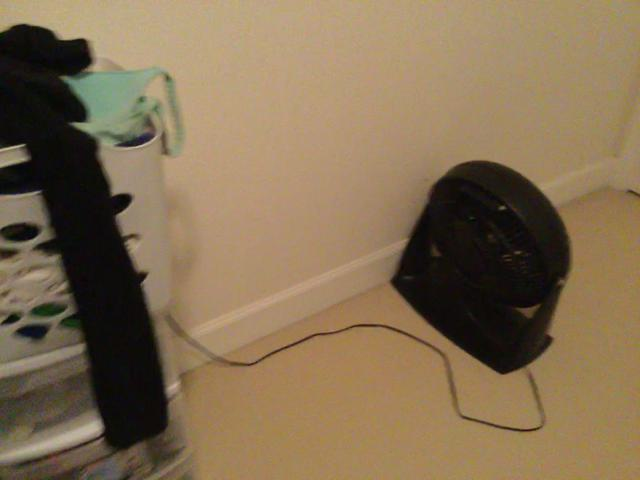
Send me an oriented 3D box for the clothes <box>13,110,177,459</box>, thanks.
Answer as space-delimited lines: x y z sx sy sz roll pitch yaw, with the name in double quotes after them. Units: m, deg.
-0.280 0.080 0.760 0.090 0.470 0.110 -19 38 -27 "clothes"
